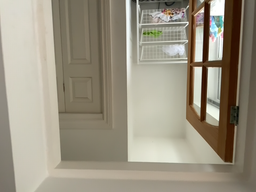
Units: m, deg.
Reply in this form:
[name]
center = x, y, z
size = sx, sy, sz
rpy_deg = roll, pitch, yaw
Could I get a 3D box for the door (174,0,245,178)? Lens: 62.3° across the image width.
[door]
center = 0.440, -0.660, 1.230
size = 0.140, 2.050, 0.690
rpy_deg = 0, -171, 0
